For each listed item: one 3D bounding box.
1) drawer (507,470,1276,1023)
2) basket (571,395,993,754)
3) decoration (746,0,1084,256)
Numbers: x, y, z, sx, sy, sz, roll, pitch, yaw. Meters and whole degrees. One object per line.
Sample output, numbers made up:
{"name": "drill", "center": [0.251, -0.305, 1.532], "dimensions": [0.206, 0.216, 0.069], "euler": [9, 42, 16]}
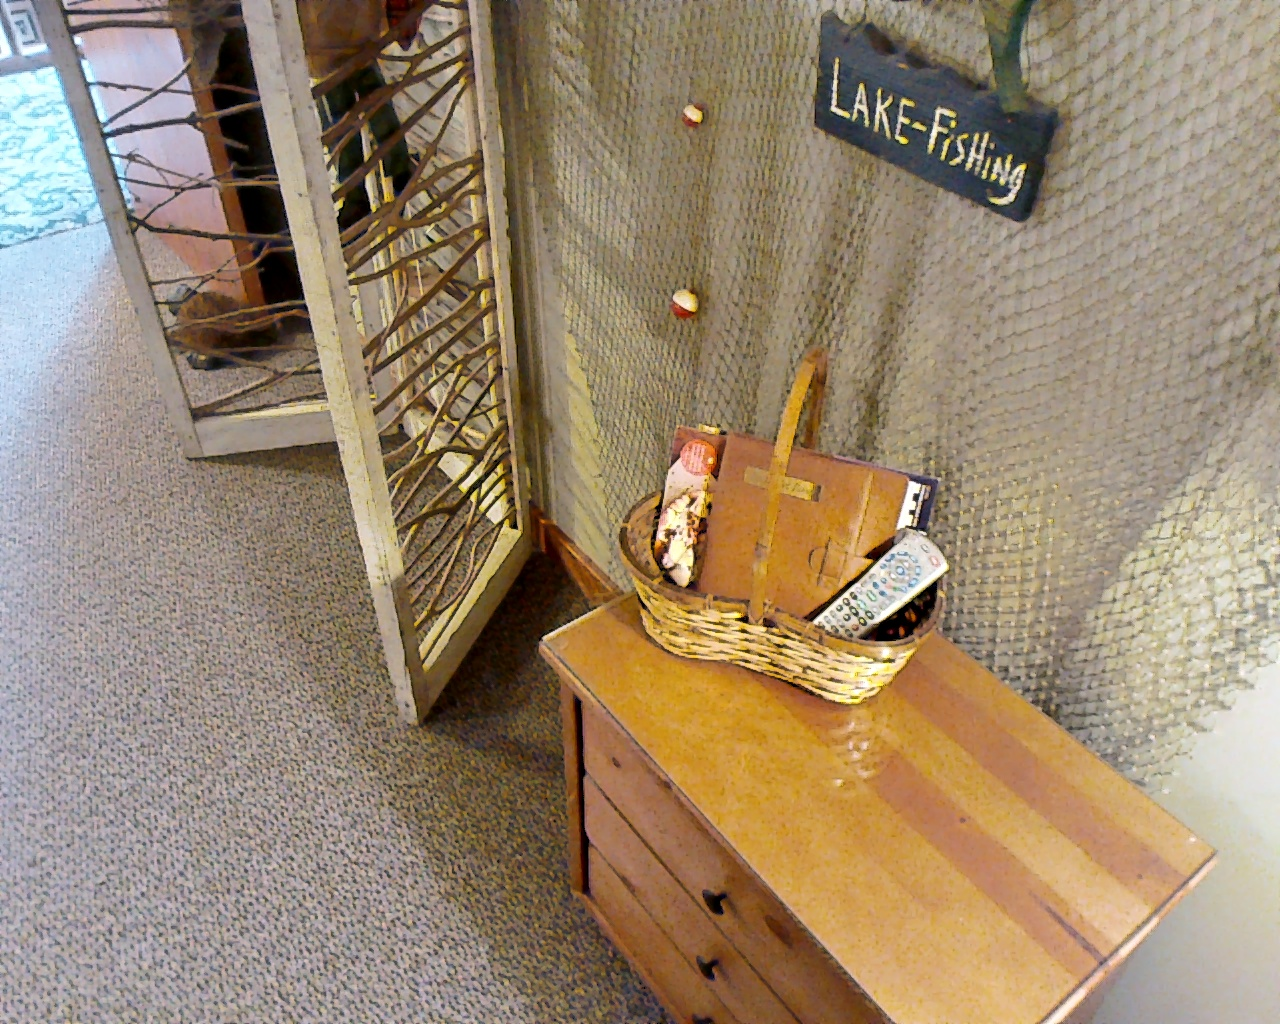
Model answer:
{"name": "drawer", "center": [0.230, 0.460, 1.370], "dimensions": [0.450, 0.650, 0.690], "euler": [-27, 49, -28]}
{"name": "basket", "center": [0.160, 0.060, 1.210], "dimensions": [0.410, 0.210, 0.270], "euler": [9, 43, 9]}
{"name": "decoration", "center": [0.240, -0.450, 1.000], "dimensions": [0.050, 0.310, 0.330], "euler": [-27, 49, -28]}
